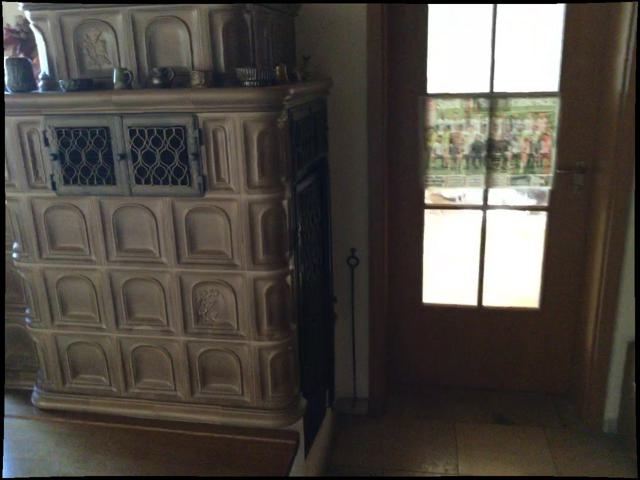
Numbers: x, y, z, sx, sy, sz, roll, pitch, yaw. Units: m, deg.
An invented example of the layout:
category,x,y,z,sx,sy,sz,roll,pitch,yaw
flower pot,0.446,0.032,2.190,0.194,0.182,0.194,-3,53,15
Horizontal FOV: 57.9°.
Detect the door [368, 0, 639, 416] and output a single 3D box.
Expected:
category,x,y,z,sx,sy,sz,roll,pitch,yaw
door,0.679,-0.210,2.390,0.899,1.862,0.340,2,17,7
